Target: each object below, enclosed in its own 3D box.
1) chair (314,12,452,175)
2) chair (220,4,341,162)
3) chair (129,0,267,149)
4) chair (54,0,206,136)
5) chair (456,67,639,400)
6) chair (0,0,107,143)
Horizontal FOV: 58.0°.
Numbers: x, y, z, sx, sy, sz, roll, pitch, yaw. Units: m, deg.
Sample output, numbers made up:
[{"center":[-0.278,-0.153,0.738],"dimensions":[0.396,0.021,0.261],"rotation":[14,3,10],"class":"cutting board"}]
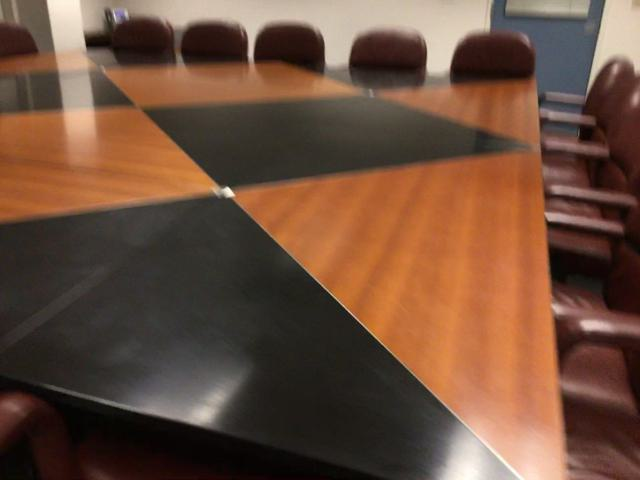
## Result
[{"center":[0.450,-1.070,4.110],"dimensions":[0.760,0.940,0.700],"rotation":[10,29,20],"class":"chair"},{"center":[-0.250,-1.180,4.270],"dimensions":[0.620,0.970,0.670],"rotation":[10,29,20],"class":"chair"},{"center":[-0.890,-1.300,4.440],"dimensions":[0.670,0.960,0.700],"rotation":[10,29,20],"class":"chair"},{"center":[-1.470,-1.450,4.640],"dimensions":[0.680,0.970,0.790],"rotation":[10,29,20],"class":"chair"},{"center":[0.940,-0.070,2.150],"dimensions":[0.650,0.960,0.670],"rotation":[10,29,20],"class":"chair"},{"center":[-2.210,-1.340,4.420],"dimensions":[0.660,0.970,0.680],"rotation":[8,29,17],"class":"chair"}]
